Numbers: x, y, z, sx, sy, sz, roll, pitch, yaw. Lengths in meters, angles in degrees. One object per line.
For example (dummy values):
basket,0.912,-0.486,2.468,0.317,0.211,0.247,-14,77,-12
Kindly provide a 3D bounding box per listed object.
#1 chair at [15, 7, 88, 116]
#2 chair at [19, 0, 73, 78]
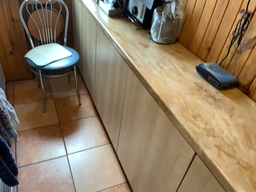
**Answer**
chair,-0.640,-0.310,1.840,0.470,0.720,0.540,-9,42,-20
chair,-0.770,-0.590,2.060,0.390,0.840,0.160,-9,42,-20
